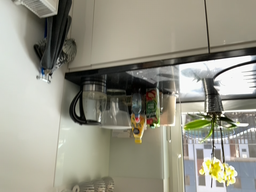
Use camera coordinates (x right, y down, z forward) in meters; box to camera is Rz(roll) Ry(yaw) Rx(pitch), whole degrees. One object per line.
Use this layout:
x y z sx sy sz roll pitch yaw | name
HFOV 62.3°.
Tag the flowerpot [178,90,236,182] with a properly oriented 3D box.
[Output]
0.530 0.270 1.460 0.300 0.540 0.320 -4 165 20 | flowerpot
